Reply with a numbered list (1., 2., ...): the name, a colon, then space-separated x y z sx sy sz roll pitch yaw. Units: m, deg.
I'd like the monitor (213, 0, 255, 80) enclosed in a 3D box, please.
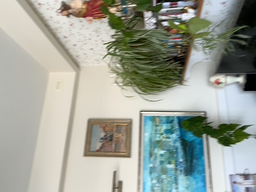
1. monitor: 1.080 -0.440 1.500 1.090 0.680 0.040 75 -166 -61
